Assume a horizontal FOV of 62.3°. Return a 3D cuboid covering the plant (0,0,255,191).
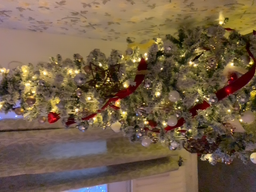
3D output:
[{"bbox_3d":[-0.060,-0.010,1.340,0.940,1.860,0.890,162,107,-65],"label":"plant"}]
